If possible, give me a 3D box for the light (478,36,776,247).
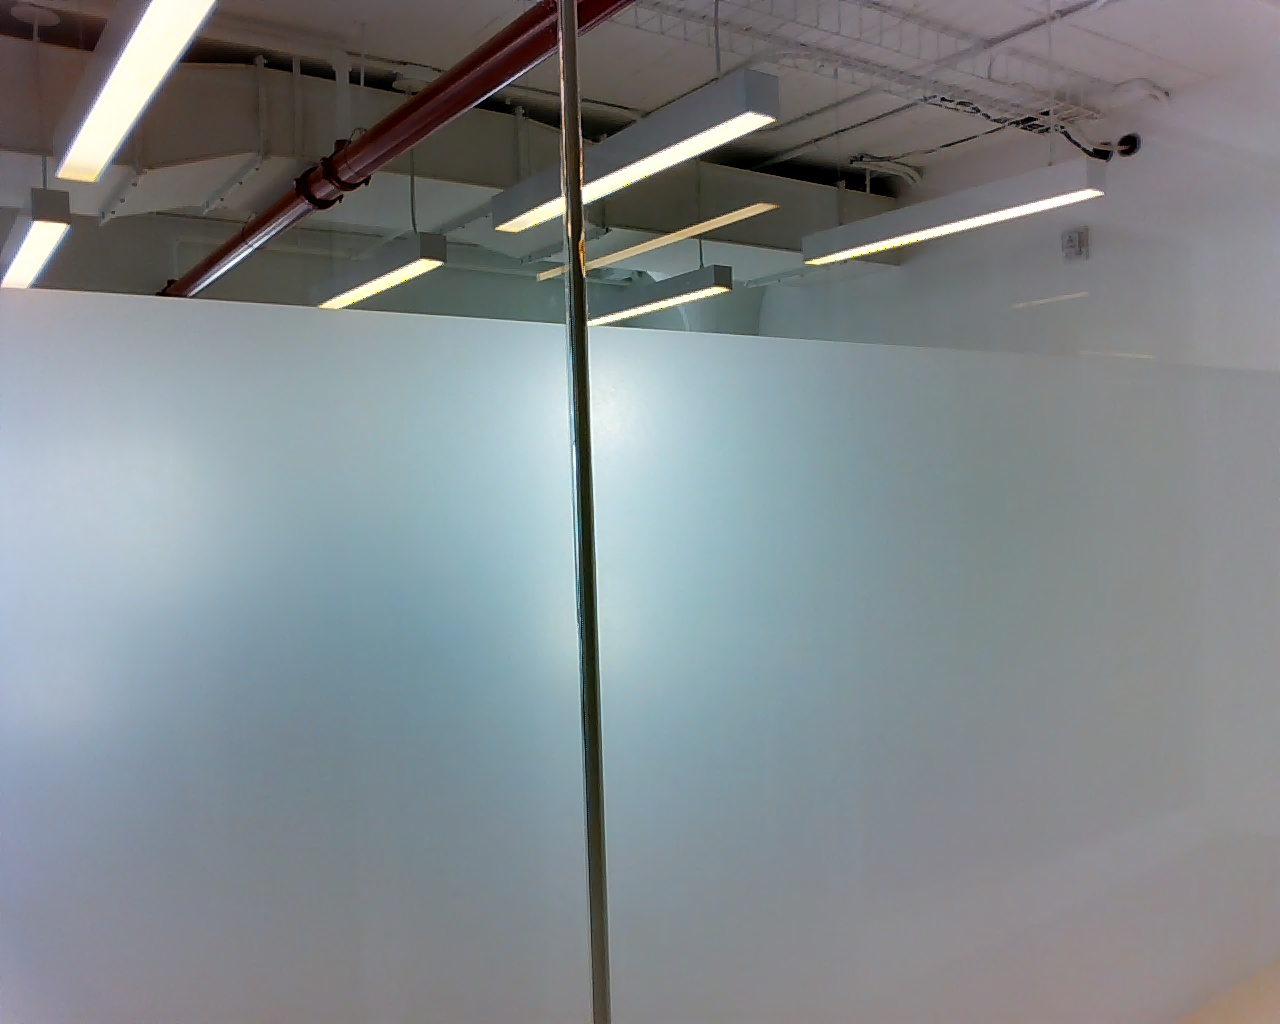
[{"bbox_3d":[-0.100,-0.970,2.960,0.130,0.210,1.240,-3,2,-36],"label":"light"}]
